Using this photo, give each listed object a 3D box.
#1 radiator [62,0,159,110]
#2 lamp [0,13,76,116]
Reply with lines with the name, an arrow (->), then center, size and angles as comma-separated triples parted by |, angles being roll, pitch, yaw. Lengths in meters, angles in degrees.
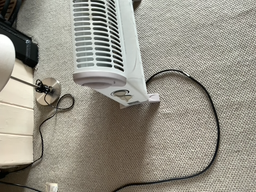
radiator -> -0.060, -0.260, 0.770 | 0.140, 0.380, 0.550 | -16, 72, 18
lamp -> -0.440, -0.100, 0.810 | 0.210, 0.460, 0.240 | -19, 71, 17
